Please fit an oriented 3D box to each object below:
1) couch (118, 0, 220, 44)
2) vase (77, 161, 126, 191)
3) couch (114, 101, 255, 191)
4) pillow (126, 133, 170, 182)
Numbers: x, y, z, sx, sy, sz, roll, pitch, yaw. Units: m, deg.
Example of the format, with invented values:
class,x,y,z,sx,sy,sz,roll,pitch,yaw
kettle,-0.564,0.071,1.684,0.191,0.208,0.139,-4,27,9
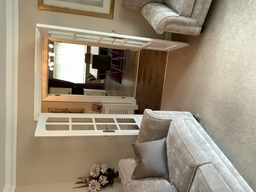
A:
class,x,y,z,sx,sy,sz,roll,pitch,yaw
couch,0.490,-1.330,2.600,0.930,0.890,0.980,-112,30,-52
vase,-0.440,1.310,3.440,0.390,0.710,0.300,-146,60,-69
couch,0.530,0.990,2.160,1.740,0.900,1.030,-112,30,-53
pillow,0.240,0.720,2.500,0.150,0.380,0.440,-11,55,65
